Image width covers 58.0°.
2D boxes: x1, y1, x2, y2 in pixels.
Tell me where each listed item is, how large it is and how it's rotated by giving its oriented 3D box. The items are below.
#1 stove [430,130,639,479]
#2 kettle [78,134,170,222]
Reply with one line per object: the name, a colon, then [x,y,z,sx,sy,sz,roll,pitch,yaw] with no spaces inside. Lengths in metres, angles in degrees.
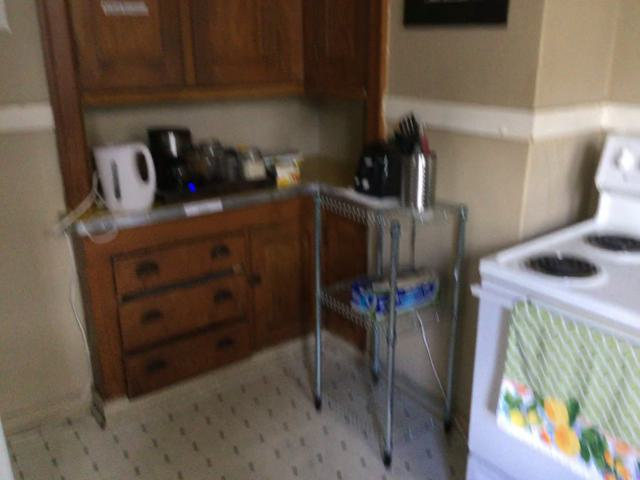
stove: [0.930,0.370,1.550,0.840,1.180,0.850,-12,21,-34]
kettle: [-0.760,-0.250,2.240,0.240,0.270,0.290,-12,21,-34]
